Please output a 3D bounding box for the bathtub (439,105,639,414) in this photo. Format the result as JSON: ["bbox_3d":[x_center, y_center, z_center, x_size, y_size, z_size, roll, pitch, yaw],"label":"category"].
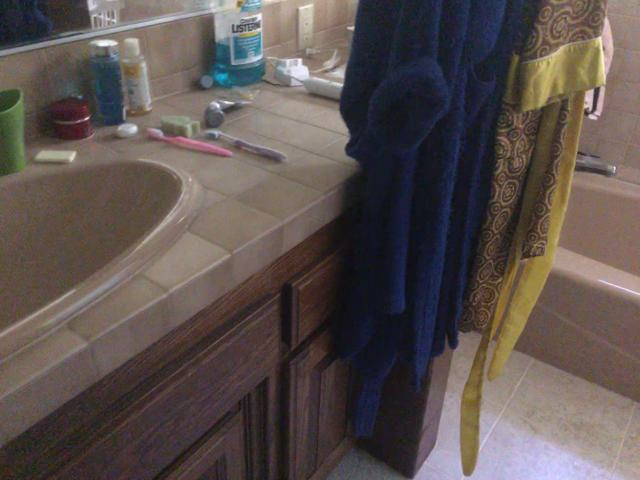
[{"bbox_3d":[1.360,0.160,1.620,1.780,0.540,0.830,20,37,29],"label":"bathtub"}]

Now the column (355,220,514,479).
[{"bbox_3d":[0.250,0.280,1.350,0.230,0.570,0.230,20,37,29],"label":"column"}]
